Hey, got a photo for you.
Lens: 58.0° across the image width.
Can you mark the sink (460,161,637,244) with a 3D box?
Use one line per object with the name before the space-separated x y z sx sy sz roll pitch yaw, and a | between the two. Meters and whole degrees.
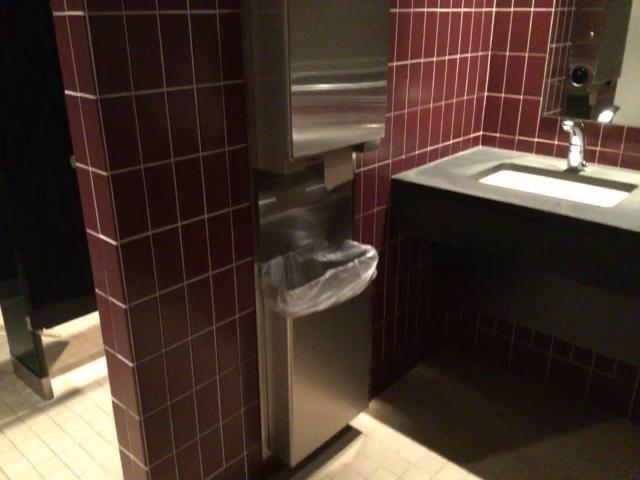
sink | 0.740 -0.140 1.890 0.450 0.120 0.300 17 27 38
